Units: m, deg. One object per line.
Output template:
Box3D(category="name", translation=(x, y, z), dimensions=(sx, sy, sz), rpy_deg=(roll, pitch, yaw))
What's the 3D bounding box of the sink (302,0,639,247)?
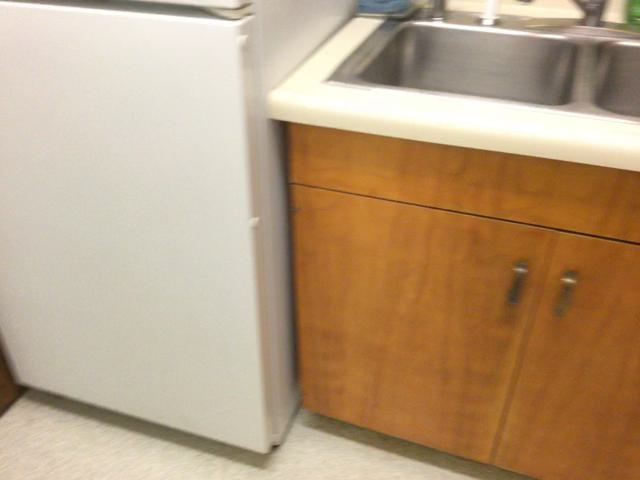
Box3D(category="sink", translation=(0.510, -0.290, 1.070), dimensions=(0.930, 0.290, 0.580), rpy_deg=(12, 39, 16))
